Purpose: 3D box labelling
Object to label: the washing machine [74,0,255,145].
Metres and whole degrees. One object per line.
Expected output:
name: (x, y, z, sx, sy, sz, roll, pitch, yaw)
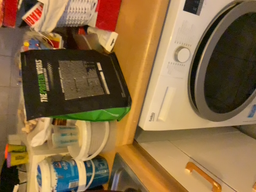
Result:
washing machine: (0.300, -0.230, 1.130, 0.670, 0.900, 0.620, 33, 115, 52)
